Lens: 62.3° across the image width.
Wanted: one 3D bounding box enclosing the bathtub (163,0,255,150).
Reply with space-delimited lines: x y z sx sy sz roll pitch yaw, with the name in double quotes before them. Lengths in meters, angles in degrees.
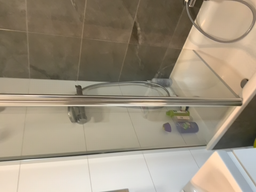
"bathtub" 0.860 -0.470 1.260 0.700 0.550 1.620 -111 30 -44
